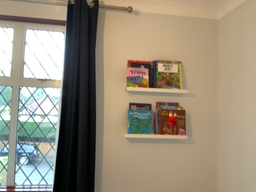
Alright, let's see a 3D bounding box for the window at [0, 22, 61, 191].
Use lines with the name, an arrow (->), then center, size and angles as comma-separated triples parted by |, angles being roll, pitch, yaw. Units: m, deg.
window -> -1.010, 0.090, 1.830 | 0.750, 1.430, 0.050 | 3, -3, -11
